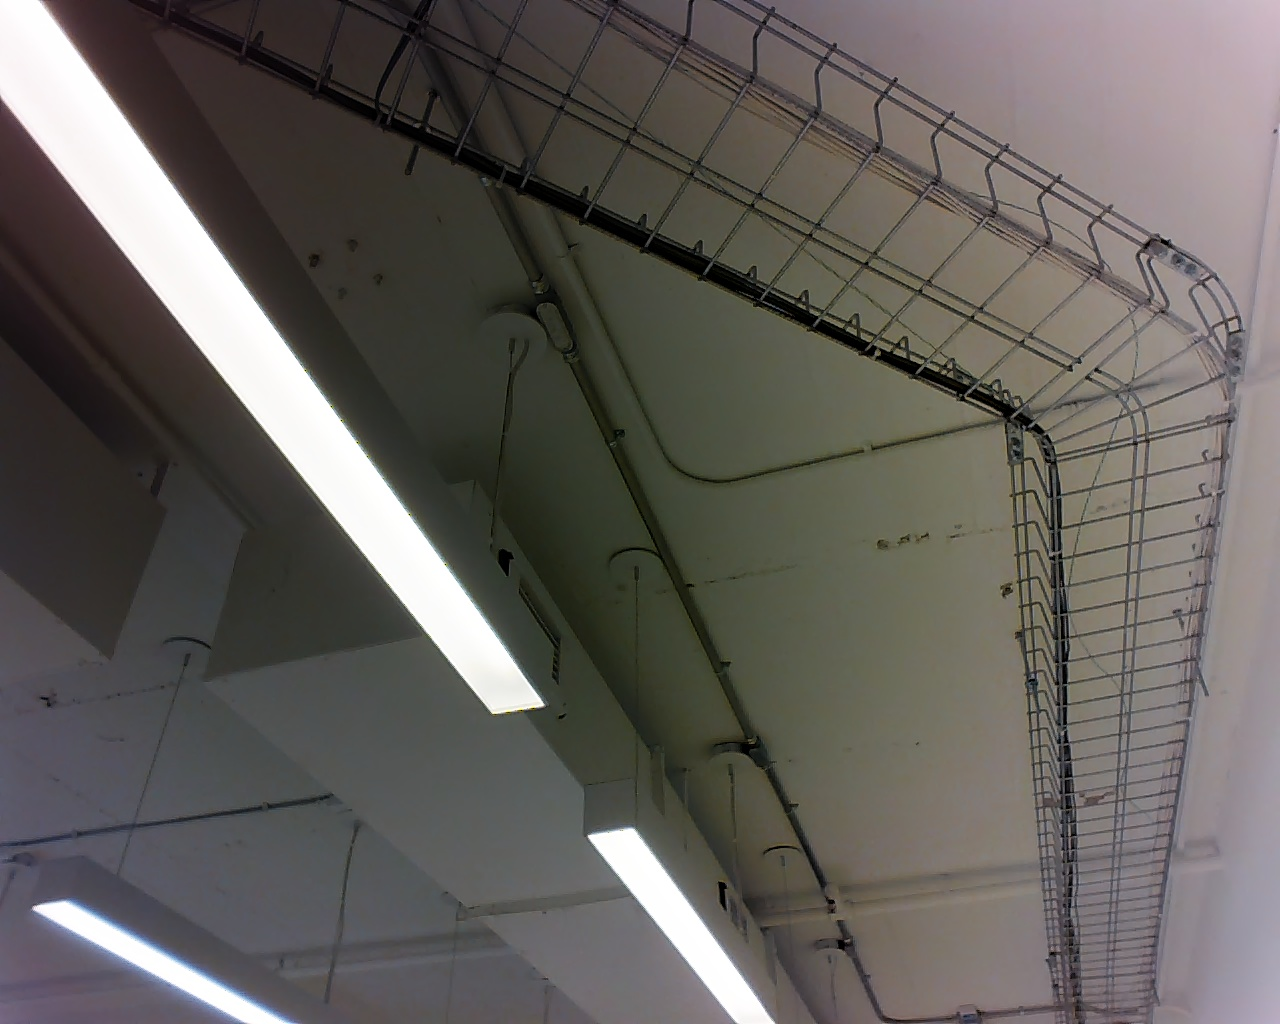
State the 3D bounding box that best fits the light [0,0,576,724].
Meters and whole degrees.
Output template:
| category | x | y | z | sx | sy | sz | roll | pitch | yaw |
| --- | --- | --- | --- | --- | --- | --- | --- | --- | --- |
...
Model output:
| category | x | y | z | sx | sy | sz | roll | pitch | yaw |
| --- | --- | --- | --- | --- | --- | --- | --- | --- | --- |
| light | -0.360 | -0.190 | 1.250 | 0.150 | 1.240 | 0.270 | -12 | 47 | 13 |
